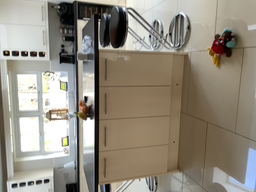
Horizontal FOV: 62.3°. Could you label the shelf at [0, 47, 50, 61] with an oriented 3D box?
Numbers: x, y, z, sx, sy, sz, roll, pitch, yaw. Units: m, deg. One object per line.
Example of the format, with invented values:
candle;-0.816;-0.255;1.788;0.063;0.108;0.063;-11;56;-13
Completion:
shelf;-1.820;-0.730;3.740;0.320;0.810;0.200;-156;66;-69
